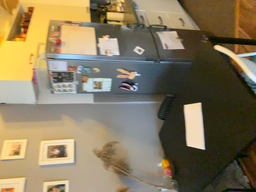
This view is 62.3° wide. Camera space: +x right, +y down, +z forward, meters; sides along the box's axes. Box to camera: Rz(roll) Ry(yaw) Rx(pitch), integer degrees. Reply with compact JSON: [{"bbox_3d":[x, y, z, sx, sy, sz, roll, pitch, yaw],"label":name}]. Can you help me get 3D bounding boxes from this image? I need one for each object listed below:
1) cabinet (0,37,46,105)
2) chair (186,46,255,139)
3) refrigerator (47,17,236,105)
[{"bbox_3d":[-1.090,-0.260,2.160,0.380,0.390,0.590,103,161,-45],"label":"cabinet"},{"bbox_3d":[0.840,-0.040,1.290,0.400,0.780,0.380,-112,25,-57],"label":"chair"},{"bbox_3d":[0.110,-0.350,2.330,0.670,1.770,0.560,103,161,-45],"label":"refrigerator"}]
